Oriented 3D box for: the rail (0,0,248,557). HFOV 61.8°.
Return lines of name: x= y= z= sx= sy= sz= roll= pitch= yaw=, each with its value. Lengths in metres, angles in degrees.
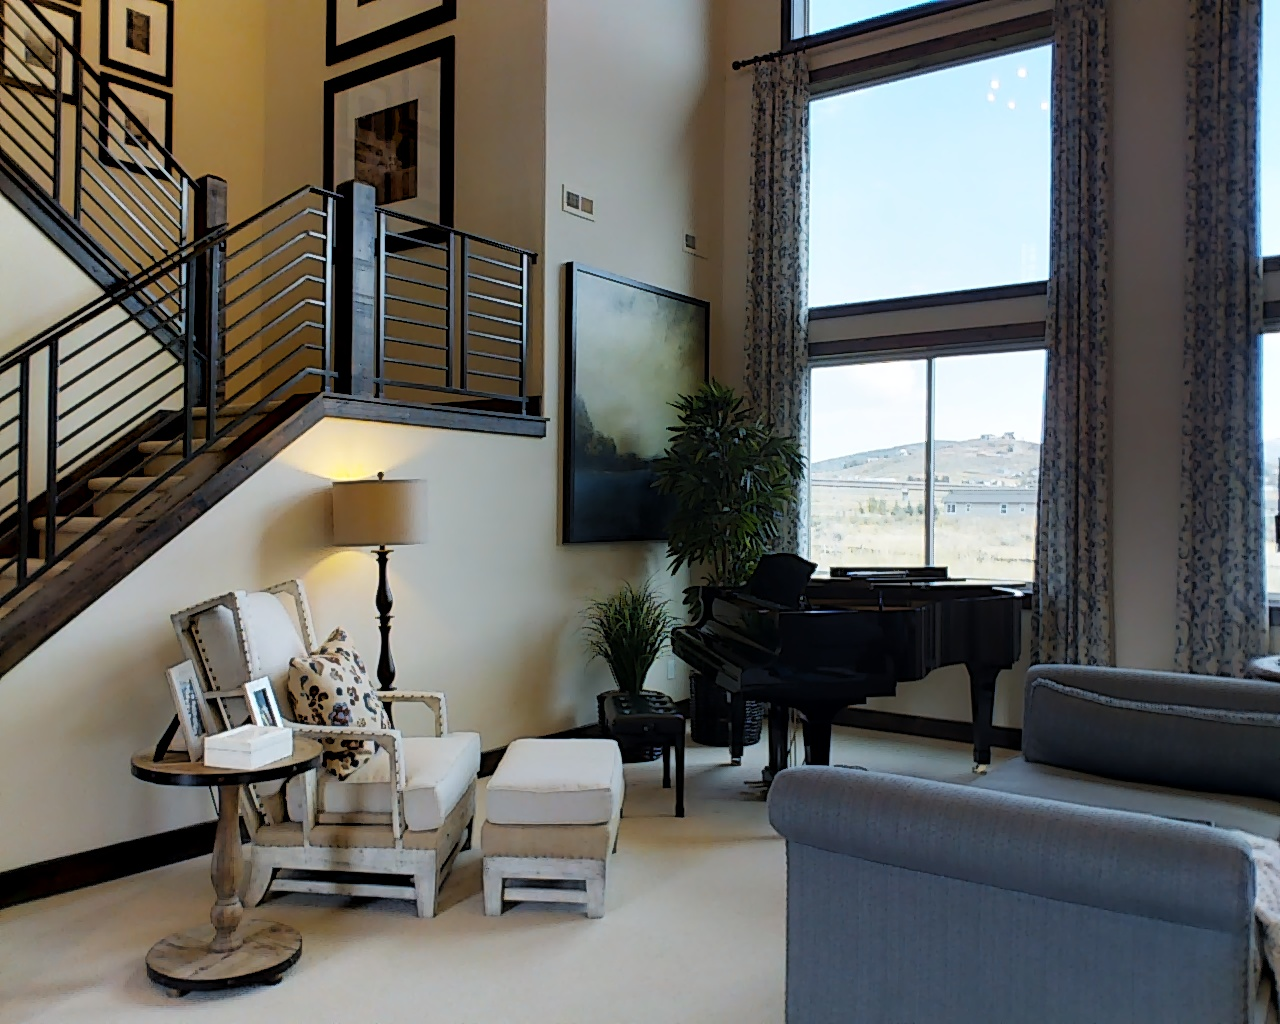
rail: x=-2.910 y=-1.080 z=4.830 sx=0.280 sy=2.560 sz=2.360 roll=0 pitch=0 yaw=36
